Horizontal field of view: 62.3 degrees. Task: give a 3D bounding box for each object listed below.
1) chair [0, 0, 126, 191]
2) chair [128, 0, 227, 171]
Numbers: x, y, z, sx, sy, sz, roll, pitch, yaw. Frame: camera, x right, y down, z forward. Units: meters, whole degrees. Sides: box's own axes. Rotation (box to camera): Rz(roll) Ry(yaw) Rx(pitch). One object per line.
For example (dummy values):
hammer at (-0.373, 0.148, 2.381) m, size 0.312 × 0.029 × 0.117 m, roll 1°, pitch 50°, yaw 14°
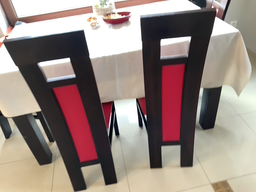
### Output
chair at (-0.310, 0.060, 1.250) m, size 0.400 × 1.020 × 0.470 m, roll -12°, pitch 38°, yaw -6°
chair at (0.240, -0.050, 1.300) m, size 0.370 × 1.030 × 0.470 m, roll -4°, pitch 37°, yaw 4°
